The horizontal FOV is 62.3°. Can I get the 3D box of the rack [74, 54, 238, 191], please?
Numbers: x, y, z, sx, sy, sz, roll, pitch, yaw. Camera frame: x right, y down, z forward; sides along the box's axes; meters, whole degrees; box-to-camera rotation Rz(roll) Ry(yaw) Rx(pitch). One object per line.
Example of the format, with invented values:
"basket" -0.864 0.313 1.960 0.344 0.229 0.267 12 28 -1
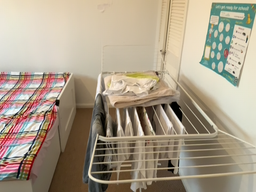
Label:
"rack" 0.040 0.280 1.630 0.680 0.920 1.300 -1 24 -7
